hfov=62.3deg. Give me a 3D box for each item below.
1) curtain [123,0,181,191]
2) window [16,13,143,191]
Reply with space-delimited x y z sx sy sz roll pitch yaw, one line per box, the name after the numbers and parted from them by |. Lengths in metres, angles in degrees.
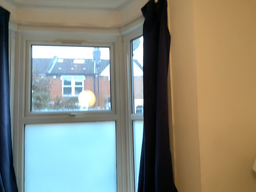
0.170 0.280 1.600 0.350 2.150 0.220 -1 -4 -7 | curtain
-0.480 0.130 2.220 1.220 1.930 0.150 -1 -4 -9 | window
